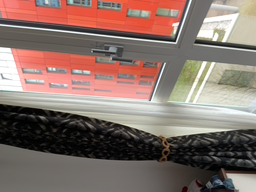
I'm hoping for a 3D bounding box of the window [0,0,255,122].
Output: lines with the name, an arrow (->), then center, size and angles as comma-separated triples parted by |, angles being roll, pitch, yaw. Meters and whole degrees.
window -> 0.100, -0.340, 1.340 | 1.340, 2.670, 0.110 | 102, 169, -46
